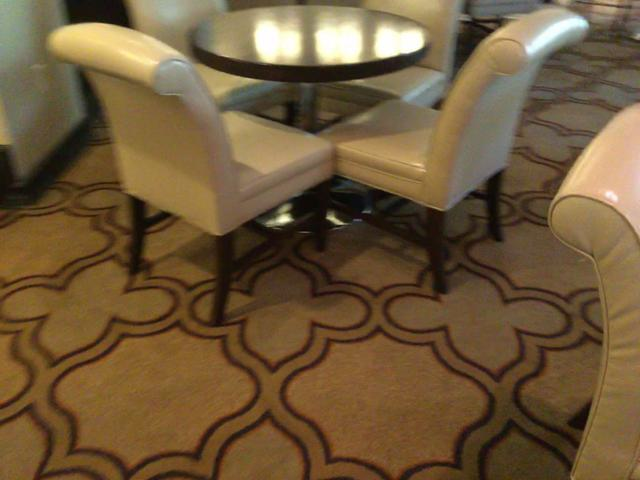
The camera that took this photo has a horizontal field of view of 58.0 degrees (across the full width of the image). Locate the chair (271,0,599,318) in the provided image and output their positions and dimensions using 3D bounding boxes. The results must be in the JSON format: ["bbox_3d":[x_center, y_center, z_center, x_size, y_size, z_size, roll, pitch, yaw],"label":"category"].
[{"bbox_3d":[0.350,-0.380,2.040,0.830,0.880,0.560,26,43,33],"label":"chair"}]

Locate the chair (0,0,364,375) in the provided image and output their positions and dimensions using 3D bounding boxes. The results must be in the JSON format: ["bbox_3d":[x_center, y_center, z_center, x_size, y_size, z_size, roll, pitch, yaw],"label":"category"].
[{"bbox_3d":[-0.360,-0.270,1.910,0.600,0.930,0.850,25,43,33],"label":"chair"}]

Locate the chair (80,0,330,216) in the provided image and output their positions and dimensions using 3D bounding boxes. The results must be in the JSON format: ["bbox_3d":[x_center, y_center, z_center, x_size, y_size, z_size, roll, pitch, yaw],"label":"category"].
[{"bbox_3d":[-0.520,-0.810,2.710,0.920,0.950,0.660,28,45,36],"label":"chair"}]

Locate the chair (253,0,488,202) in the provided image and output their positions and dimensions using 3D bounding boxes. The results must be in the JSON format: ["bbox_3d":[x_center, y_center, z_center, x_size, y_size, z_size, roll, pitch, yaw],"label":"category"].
[{"bbox_3d":[0.250,-0.860,2.690,0.680,0.940,0.840,24,42,32],"label":"chair"}]
